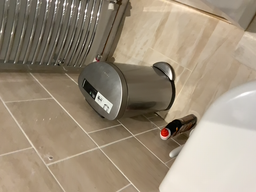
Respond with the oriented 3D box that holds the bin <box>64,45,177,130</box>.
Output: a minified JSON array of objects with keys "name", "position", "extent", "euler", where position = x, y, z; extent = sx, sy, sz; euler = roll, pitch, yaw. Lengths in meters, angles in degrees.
[{"name":"bin","position":[-0.020,-0.050,1.030],"extent":[0.260,0.440,0.240],"euler":[40,117,30]}]
